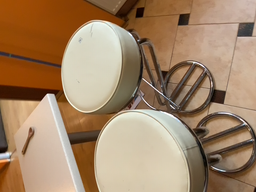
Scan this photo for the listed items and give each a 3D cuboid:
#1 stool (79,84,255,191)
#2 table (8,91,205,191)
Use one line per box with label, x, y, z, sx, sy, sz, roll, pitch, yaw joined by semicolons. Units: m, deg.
stool;0.280;0.230;0.920;0.340;0.850;0.340;-42;62;29
table;-0.030;0.500;1.150;0.430;0.850;0.910;-40;63;30
